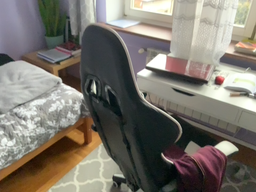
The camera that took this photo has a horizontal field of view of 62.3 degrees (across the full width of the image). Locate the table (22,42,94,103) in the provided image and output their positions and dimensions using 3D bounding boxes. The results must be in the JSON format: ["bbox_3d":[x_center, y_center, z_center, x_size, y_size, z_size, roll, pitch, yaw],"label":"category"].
[{"bbox_3d":[-0.850,-0.330,2.660,0.580,0.460,0.570,22,36,28],"label":"table"}]

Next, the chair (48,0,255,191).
[{"bbox_3d":[0.140,0.190,1.170,0.720,1.200,0.700,-22,39,-35],"label":"chair"}]
